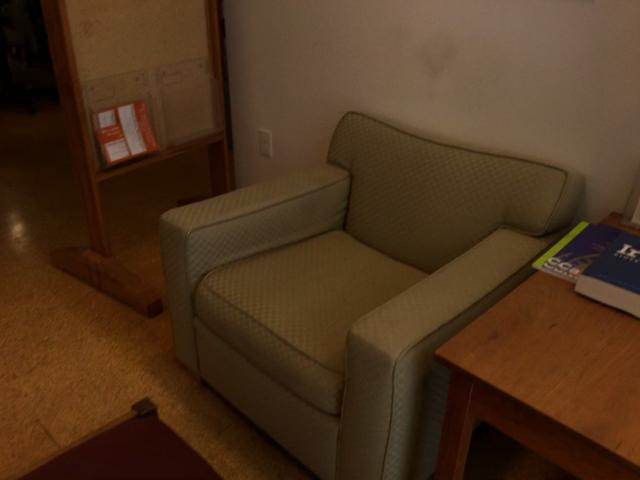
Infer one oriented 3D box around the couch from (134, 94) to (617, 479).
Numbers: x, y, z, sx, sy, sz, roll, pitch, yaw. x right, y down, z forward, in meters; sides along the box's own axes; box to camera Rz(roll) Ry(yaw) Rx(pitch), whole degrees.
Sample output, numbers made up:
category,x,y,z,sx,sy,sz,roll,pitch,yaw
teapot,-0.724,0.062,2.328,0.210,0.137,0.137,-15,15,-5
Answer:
category,x,y,z,sx,sy,sz,roll,pitch,yaw
couch,0.120,0.120,1.650,0.900,0.760,0.840,27,36,36
